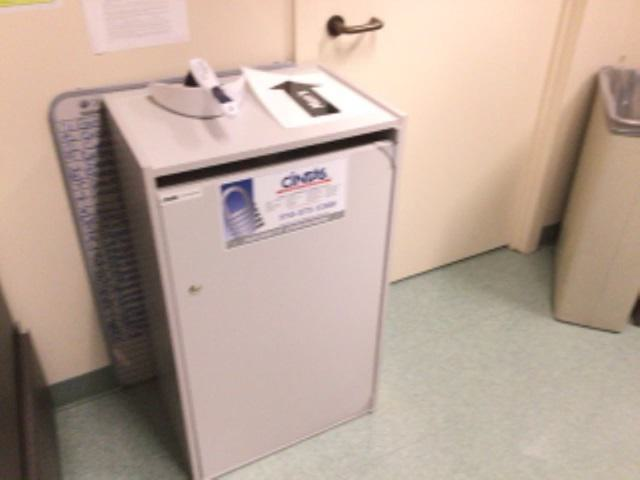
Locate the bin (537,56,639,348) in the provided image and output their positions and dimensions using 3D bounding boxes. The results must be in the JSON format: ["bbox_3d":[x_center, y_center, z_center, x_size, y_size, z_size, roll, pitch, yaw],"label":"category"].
[{"bbox_3d":[0.960,-0.130,1.860,0.340,0.740,0.530,11,37,19],"label":"bin"}]
